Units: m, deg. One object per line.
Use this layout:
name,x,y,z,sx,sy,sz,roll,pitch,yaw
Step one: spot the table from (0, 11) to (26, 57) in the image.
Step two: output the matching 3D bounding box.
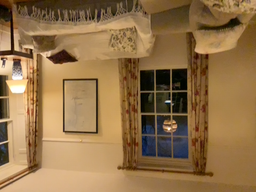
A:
table,-2.200,-1.060,3.760,0.400,0.650,0.560,-1,-178,15

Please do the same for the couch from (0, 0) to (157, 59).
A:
couch,-0.630,-1.060,3.340,2.060,0.680,1.260,-1,-178,12
